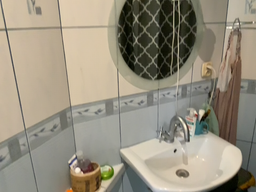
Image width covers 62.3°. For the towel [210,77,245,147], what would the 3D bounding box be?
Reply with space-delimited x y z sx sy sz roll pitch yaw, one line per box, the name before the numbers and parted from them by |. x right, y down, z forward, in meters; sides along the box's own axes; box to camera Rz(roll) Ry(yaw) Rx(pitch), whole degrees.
towel | 0.660 0.110 1.430 0.150 0.460 0.110 3 22 16
